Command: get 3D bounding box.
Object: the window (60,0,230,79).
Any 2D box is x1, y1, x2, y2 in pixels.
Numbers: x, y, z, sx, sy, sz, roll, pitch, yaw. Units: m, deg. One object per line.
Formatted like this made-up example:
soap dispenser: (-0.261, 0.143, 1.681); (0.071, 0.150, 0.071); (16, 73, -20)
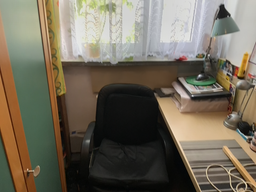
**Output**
window: (0.130, -0.930, 1.380); (1.140, 1.640, 0.220); (-1, 26, -7)
